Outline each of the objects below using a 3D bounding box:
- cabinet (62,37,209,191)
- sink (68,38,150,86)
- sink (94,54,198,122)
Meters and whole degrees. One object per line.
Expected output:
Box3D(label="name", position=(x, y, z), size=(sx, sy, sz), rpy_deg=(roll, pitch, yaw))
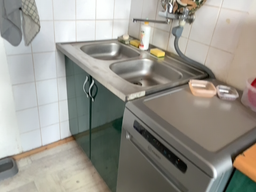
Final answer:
Box3D(label="cabinet", position=(-0.040, 0.120, 1.530), size=(0.550, 0.850, 0.800), rpy_deg=(-15, 36, -34))
Box3D(label="sink", position=(-0.140, -0.260, 1.480), size=(0.420, 0.160, 0.380), rpy_deg=(-15, 36, -34))
Box3D(label="sink", position=(0.090, -0.080, 1.220), size=(0.420, 0.160, 0.400), rpy_deg=(-15, 36, -34))
